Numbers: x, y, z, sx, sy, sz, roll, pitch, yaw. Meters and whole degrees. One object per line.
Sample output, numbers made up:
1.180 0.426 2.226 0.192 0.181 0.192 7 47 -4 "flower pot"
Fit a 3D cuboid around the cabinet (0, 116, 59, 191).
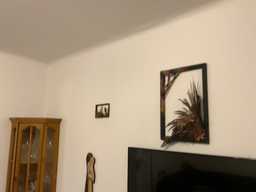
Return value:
-1.130 1.220 2.310 0.440 1.970 0.430 -6 -11 41 "cabinet"
